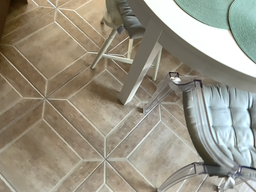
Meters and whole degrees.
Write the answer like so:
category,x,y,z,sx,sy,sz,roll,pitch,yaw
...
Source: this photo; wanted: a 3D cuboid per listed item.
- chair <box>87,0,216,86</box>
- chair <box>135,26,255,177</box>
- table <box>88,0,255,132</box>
category,x,y,z,sx,sy,sz,roll,pitch,yaw
chair,0.020,-0.490,1.150,0.440,0.800,0.570,1,67,-13
chair,0.330,0.140,0.960,0.410,0.800,0.380,6,66,-11
table,0.390,-0.450,1.240,1.160,0.770,1.140,3,66,-12
